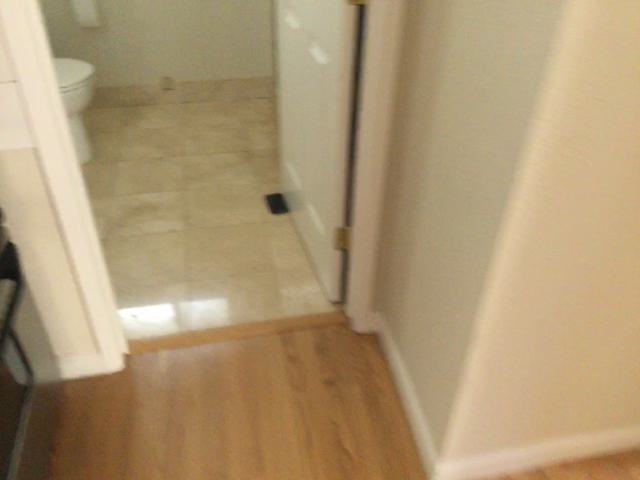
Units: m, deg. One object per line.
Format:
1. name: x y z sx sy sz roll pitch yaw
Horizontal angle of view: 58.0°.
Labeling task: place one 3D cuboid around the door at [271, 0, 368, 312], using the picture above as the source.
1. door: -0.030 -0.690 1.700 0.090 1.770 0.740 -9 38 -13

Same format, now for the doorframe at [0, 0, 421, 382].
1. doorframe: -0.230 -0.500 1.270 0.860 1.970 0.240 -7 37 -10
